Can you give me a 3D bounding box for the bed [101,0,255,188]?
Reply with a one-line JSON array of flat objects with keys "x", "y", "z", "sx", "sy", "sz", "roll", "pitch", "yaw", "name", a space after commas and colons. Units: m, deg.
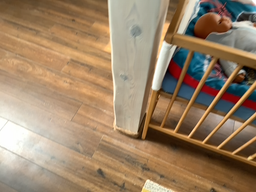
[{"x": 0.740, "y": -0.080, "z": 1.010, "sx": 1.480, "sy": 0.930, "sz": 0.760, "roll": 20, "pitch": 59, "yaw": 10, "name": "bed"}]
